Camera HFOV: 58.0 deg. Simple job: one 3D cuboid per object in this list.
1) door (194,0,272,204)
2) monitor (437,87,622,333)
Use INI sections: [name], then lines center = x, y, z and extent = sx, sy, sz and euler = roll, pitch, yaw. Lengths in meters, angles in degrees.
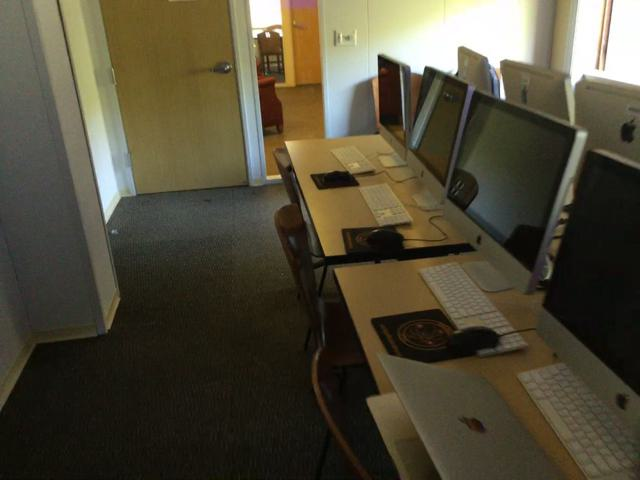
[door]
center = -0.580, -1.060, 4.000
extent = 0.080, 1.470, 0.700
euler = 4, 22, 19
[monitor]
center = 0.470, -0.110, 1.440
extent = 0.180, 0.440, 0.540
euler = -6, 23, -6
